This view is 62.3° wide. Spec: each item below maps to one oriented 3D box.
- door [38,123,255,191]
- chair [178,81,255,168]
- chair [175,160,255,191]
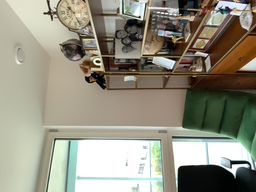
[{"bbox_3d":[0.360,1.130,2.260,0.100,2.610,1.630,93,178,-73],"label":"door"},{"bbox_3d":[1.060,0.220,2.030,0.800,0.940,0.500,-90,2,-70],"label":"chair"},{"bbox_3d":[1.020,0.960,1.970,0.630,1.010,0.620,94,177,-80],"label":"chair"}]
